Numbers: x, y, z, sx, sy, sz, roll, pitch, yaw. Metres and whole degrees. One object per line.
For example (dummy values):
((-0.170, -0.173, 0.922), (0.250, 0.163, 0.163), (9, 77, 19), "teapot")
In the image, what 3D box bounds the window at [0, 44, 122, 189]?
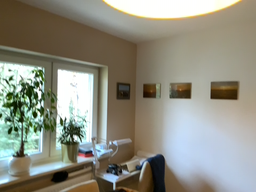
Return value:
((-0.710, 0.200, 2.530), (0.120, 1.290, 1.800), (2, 0, 38), "window")

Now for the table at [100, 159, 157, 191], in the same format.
((0.020, 1.320, 2.920), (0.420, 0.680, 0.710), (2, 0, 40), "table")

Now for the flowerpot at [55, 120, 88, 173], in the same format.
((-0.650, 0.560, 2.440), (0.270, 0.520, 0.250), (2, 0, -44), "flowerpot")
